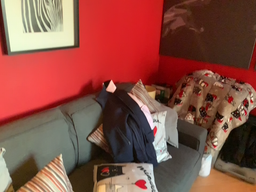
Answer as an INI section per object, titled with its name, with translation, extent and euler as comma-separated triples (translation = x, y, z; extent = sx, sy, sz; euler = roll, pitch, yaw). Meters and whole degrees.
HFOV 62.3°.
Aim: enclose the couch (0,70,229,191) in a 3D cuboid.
[couch]
translation = -0.180, 0.540, 1.460
extent = 0.970, 0.890, 2.090
euler = 18, 27, 34
